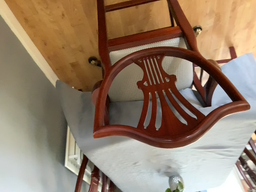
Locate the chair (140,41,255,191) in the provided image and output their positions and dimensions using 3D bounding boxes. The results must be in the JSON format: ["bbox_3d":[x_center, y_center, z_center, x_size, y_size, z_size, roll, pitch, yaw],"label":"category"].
[{"bbox_3d":[0.500,0.170,1.560,0.570,0.950,0.500,-15,144,7],"label":"chair"}]

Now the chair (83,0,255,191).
[{"bbox_3d":[0.110,-0.110,1.080,0.510,0.960,0.590,-11,144,1],"label":"chair"}]
